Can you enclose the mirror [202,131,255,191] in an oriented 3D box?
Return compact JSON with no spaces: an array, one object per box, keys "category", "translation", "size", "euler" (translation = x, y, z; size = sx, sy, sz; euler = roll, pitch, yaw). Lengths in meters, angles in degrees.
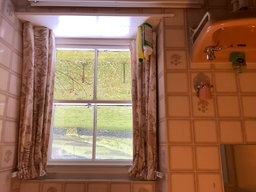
[{"category":"mirror","translation":[0.630,0.410,1.210],"size":[0.340,0.410,0.150],"euler":[-1,169,4]}]
